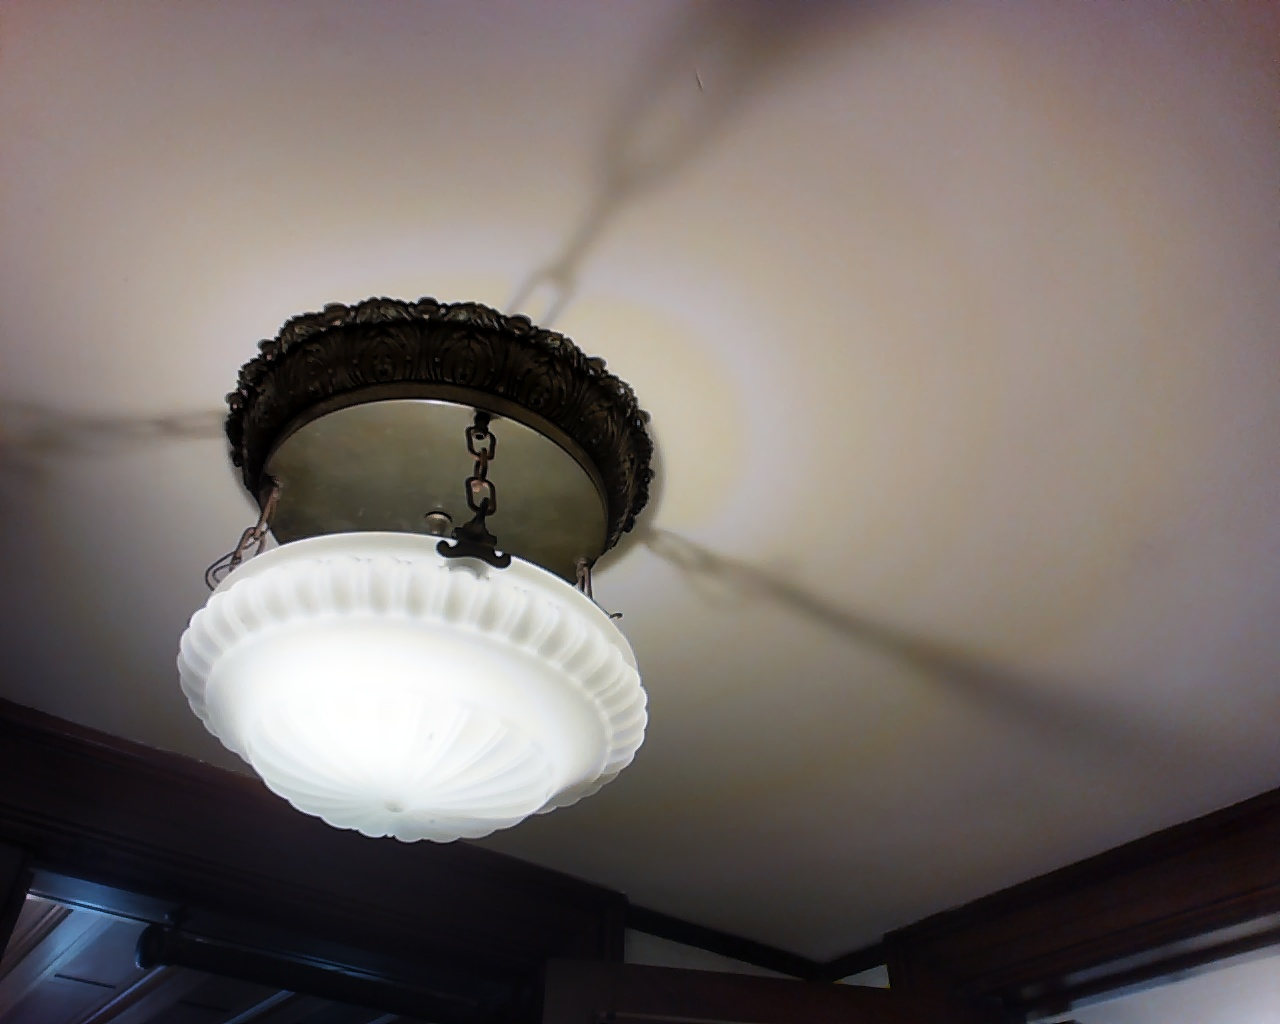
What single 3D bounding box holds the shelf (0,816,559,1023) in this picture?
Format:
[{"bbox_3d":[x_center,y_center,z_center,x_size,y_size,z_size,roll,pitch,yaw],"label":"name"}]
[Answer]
[{"bbox_3d":[-0.470,0.610,1.530,0.790,0.110,0.080,27,-47,-26],"label":"shelf"}]
